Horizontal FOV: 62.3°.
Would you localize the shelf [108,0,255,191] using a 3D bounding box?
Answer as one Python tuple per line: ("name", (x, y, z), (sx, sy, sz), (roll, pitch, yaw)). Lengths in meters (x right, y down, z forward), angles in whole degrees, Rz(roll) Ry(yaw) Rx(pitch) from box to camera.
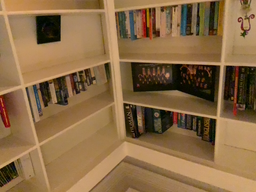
("shelf", (0.600, -0.360, 1.250), (1.390, 1.890, 0.510), (10, -155, 34))
